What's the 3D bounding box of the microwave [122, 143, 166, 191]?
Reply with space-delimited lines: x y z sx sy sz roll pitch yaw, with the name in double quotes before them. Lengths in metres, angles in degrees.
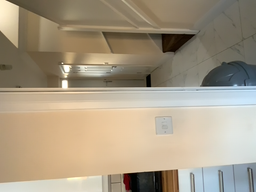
"microwave" 0.130 0.670 1.900 0.320 0.310 0.440 145 124 -77
